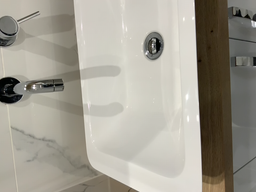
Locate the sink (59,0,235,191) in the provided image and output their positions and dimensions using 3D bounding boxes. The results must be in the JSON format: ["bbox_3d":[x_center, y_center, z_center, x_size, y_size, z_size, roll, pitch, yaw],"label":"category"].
[{"bbox_3d":[0.000,-0.110,0.470,0.390,0.120,0.600,1,97,49],"label":"sink"}]
